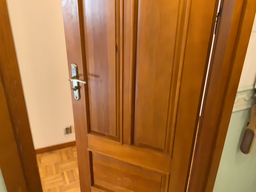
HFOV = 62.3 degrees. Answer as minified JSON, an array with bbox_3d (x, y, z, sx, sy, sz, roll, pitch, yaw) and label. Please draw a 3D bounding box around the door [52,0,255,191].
[{"bbox_3d":[0.040,0.010,1.180,0.980,2.140,0.070,12,26,21],"label":"door"}]
